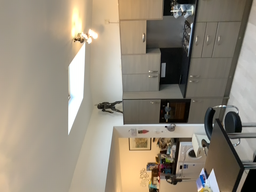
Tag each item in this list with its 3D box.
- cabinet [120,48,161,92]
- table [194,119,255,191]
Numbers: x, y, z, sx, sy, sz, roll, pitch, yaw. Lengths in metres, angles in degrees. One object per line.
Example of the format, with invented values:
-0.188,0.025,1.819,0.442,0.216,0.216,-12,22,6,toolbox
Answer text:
0.240,-0.520,4.290,0.330,0.760,0.820,-88,-3,-58,cabinet
1.400,1.010,2.400,0.660,0.970,1.380,-88,-3,-58,table
